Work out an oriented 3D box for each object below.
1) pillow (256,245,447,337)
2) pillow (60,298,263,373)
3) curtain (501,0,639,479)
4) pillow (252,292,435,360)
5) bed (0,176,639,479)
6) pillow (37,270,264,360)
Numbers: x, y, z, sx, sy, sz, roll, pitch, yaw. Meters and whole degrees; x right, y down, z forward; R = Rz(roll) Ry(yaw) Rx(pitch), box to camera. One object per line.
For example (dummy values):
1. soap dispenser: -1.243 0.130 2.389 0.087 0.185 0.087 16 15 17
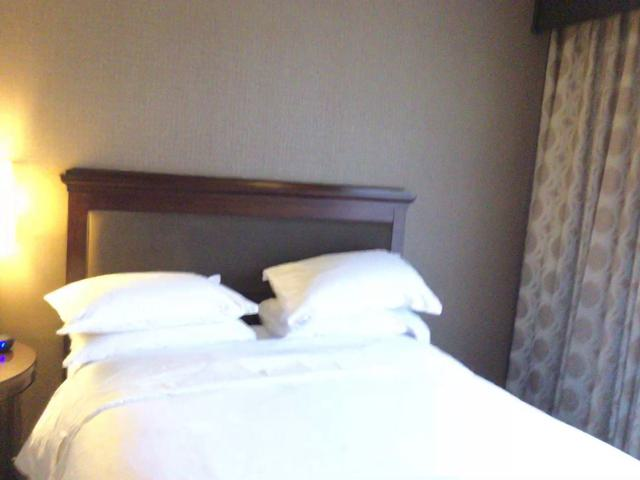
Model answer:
1. pillow: 0.130 0.210 2.650 0.720 0.310 0.470 1 7 -24
2. pillow: -0.670 0.370 2.390 0.740 0.130 0.510 1 7 -24
3. curtain: 1.470 0.000 2.840 0.200 2.290 1.160 1 7 -24
4. pillow: 0.100 0.380 2.680 0.720 0.170 0.440 1 7 -24
5. bed: 0.010 0.560 1.760 1.820 1.360 2.230 1 7 -24
6. pillow: -0.700 0.270 2.340 0.780 0.190 0.610 1 7 -24
